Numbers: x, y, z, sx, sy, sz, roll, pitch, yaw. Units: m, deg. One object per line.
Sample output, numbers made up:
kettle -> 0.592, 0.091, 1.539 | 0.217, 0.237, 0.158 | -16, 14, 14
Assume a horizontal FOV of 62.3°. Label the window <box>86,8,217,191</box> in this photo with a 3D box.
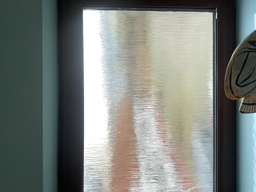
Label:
window -> 0.110, 0.080, 1.000 | 0.040, 0.610, 0.960 | 178, 92, -88
